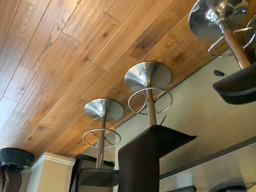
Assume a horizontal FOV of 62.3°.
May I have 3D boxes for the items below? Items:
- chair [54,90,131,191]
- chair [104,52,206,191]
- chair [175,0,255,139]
[{"bbox_3d":[-0.290,0.560,1.840,0.430,1.080,0.460,28,132,-31],"label":"chair"},{"bbox_3d":[0.150,0.240,1.520,0.430,1.010,0.410,28,132,-31],"label":"chair"},{"bbox_3d":[0.590,-0.230,1.160,0.370,0.750,0.390,28,132,-31],"label":"chair"}]
